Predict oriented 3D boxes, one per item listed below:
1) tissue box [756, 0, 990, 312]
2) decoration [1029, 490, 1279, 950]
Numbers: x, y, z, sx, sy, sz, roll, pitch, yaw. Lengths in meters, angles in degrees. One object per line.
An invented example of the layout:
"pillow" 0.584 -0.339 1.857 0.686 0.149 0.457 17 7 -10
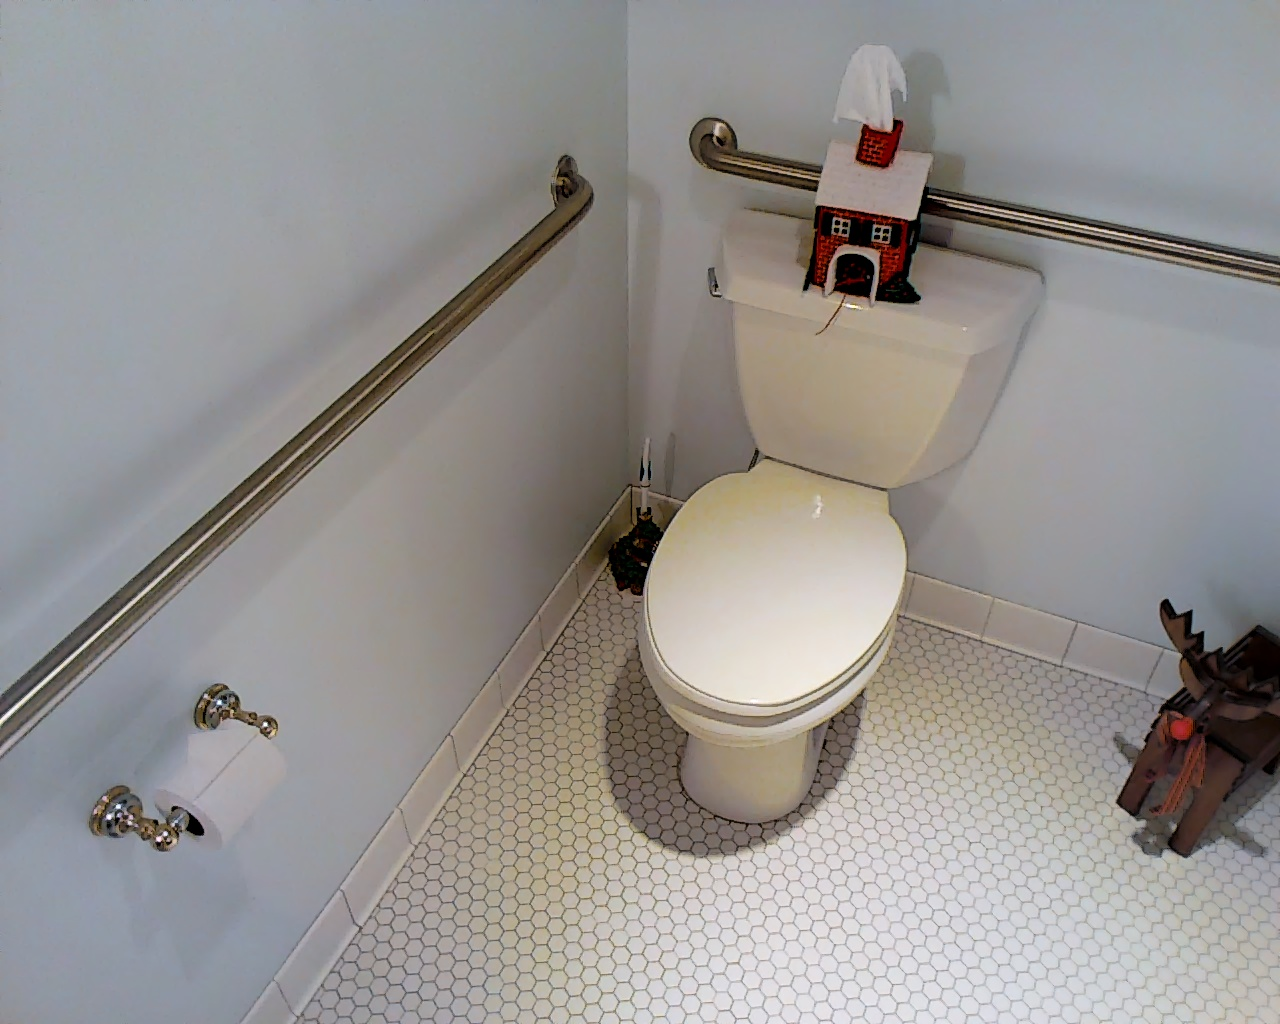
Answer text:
"tissue box" 0.320 -0.510 1.520 0.240 0.360 0.200 14 44 15
"decoration" 0.910 0.320 1.680 0.440 0.500 0.280 -32 51 -31
